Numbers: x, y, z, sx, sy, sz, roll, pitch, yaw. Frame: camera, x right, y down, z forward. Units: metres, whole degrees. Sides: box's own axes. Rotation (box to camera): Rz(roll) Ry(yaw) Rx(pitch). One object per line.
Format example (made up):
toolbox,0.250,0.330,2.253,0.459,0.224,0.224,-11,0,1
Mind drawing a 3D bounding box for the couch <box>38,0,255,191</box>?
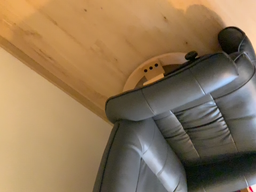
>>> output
couch,0.320,0.210,0.950,0.820,0.930,0.820,-28,116,16
